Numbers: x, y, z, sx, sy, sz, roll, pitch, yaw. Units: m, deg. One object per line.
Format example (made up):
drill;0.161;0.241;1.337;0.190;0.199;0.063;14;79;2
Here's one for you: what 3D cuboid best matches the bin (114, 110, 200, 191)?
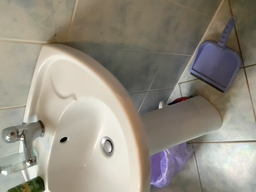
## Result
bin;0.150;0.300;1.190;0.330;0.240;0.270;37;119;33
